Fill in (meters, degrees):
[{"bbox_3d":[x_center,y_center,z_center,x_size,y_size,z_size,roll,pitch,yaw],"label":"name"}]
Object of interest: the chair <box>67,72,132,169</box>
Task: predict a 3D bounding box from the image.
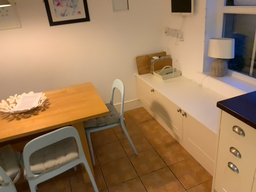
[{"bbox_3d":[-0.310,0.240,2.310,0.490,0.810,0.520,-13,26,-17],"label":"chair"}]
